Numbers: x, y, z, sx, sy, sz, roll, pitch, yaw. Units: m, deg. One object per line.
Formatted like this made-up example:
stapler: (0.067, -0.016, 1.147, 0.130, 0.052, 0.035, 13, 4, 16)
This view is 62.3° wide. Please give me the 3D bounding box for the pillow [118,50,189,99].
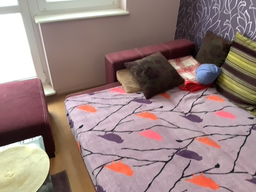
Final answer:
pillow: (0.220, -0.220, 1.960, 0.470, 0.180, 0.440, -16, 39, -23)
